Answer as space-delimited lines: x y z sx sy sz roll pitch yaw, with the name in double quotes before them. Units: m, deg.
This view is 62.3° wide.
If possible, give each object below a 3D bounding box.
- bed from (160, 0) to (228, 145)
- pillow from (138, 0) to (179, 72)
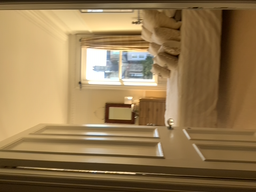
"bed" 0.990 -0.470 3.590 1.590 0.640 2.170 -22 -66 -87
"pillow" 0.430 -0.940 3.220 0.670 0.520 1.090 -38 -50 -86
